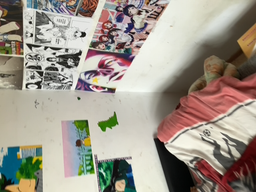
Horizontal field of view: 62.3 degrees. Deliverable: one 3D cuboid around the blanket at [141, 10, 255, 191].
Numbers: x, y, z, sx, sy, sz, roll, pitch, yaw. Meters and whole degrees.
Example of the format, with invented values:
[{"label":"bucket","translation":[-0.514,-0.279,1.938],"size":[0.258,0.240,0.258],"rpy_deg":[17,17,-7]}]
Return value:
[{"label":"blanket","translation":[0.520,0.360,0.970],"size":[1.010,0.250,1.040],"rpy_deg":[-52,45,50]}]
